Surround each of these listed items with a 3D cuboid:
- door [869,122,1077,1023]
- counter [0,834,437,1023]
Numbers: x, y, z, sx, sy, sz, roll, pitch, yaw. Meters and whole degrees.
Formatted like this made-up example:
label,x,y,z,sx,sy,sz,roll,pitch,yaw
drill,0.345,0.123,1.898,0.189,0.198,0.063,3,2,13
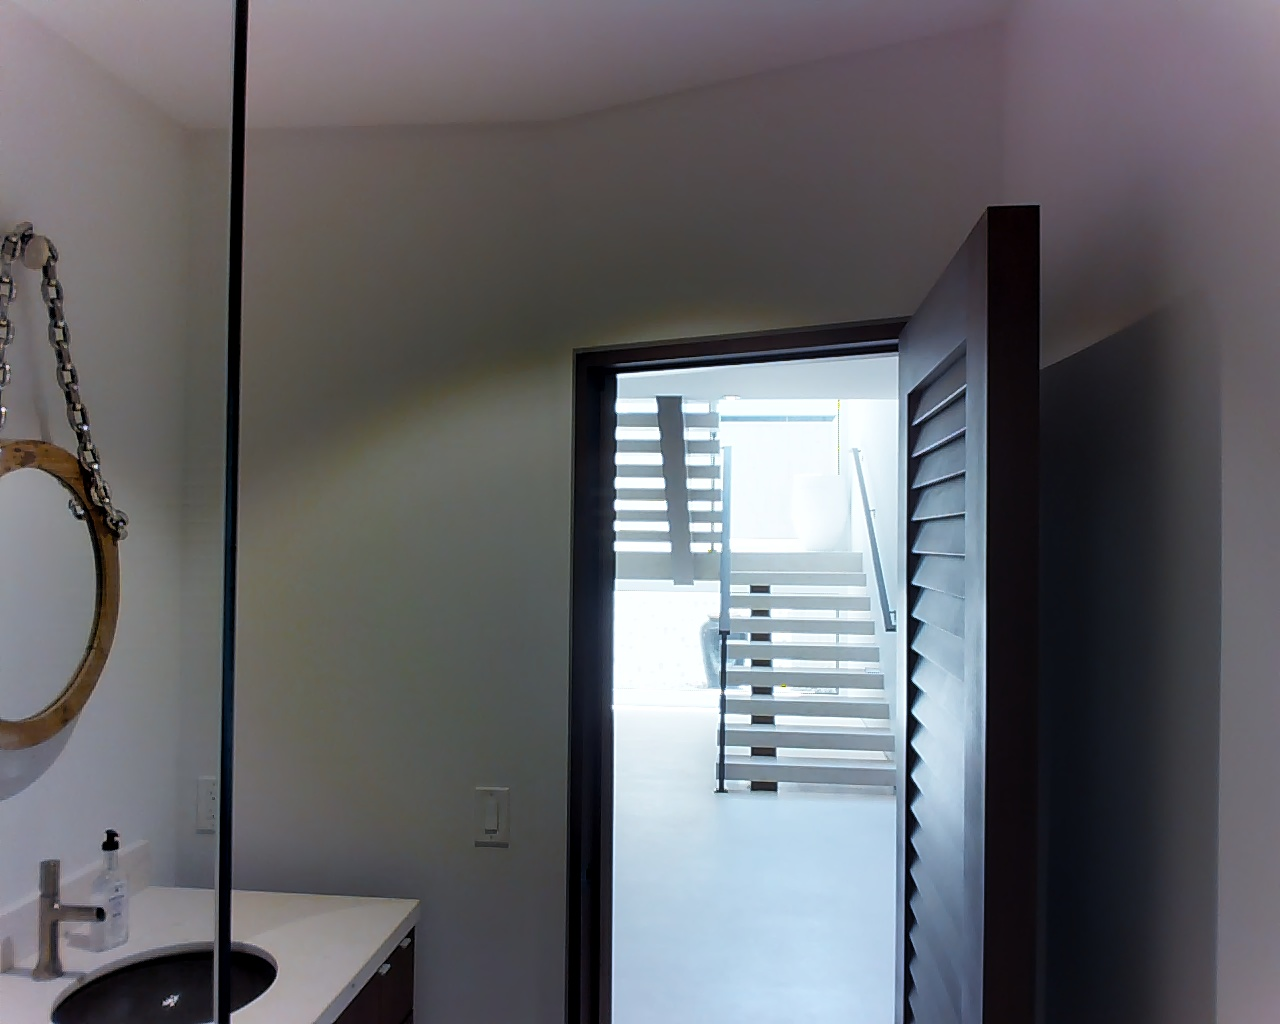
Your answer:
label,x,y,z,sx,sy,sz,roll,pitch,yaw
door,0.450,0.640,1.580,0.130,2.130,0.810,1,-2,6
counter,-0.830,0.790,1.910,0.640,0.120,1.080,1,-2,6
